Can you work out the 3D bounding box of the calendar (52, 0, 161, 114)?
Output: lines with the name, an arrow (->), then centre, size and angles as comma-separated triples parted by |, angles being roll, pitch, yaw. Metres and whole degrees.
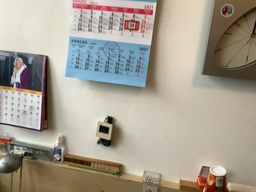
calendar -> -0.070, -0.290, 0.690 | 0.340, 0.660, 0.070 | 9, 16, 11
